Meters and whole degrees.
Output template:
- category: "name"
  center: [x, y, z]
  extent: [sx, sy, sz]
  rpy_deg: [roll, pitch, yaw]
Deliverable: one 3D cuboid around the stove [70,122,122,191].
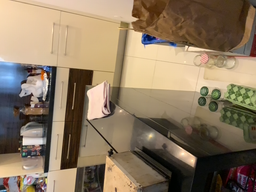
- category: "stove"
  center: [-0.210, 0.500, 1.130]
  extent: [0.520, 0.040, 0.580]
  rpy_deg: [27, 111, 58]
